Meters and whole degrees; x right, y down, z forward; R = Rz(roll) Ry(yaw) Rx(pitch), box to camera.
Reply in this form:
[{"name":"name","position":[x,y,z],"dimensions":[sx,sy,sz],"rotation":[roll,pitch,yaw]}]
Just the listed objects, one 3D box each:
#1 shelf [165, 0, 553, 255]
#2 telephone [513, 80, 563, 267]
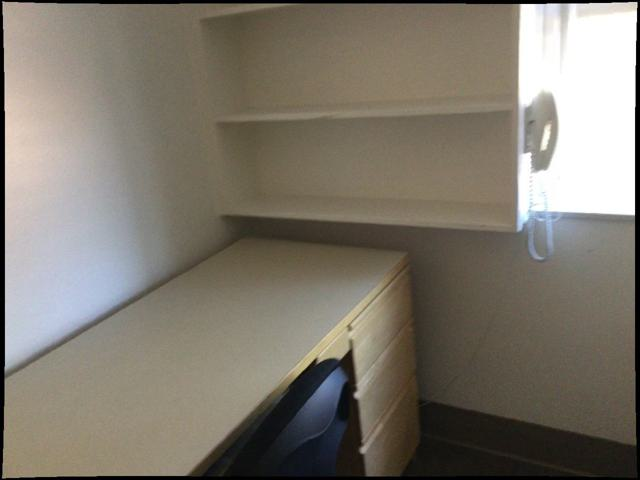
[{"name":"shelf","position":[0.110,-0.401,1.710],"dimensions":[1.058,0.792,0.260],"rotation":[3,23,28]},{"name":"telephone","position":[0.578,-0.170,1.520],"dimensions":[0.100,0.461,0.140],"rotation":[3,23,28]}]
